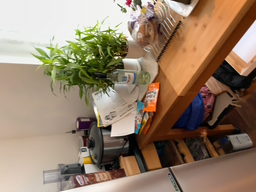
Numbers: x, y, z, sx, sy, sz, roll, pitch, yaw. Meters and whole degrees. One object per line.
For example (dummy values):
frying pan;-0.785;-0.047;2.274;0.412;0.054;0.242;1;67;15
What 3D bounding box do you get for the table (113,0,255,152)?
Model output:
table;0.510;-0.180;1.290;0.940;0.840;0.510;-63;39;40
